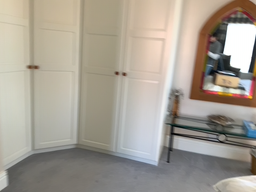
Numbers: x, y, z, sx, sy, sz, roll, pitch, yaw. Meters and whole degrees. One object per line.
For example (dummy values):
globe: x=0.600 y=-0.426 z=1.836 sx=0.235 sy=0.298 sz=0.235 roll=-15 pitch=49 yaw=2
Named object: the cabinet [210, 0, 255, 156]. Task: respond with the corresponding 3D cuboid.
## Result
cabinet: x=1.830 y=-0.600 z=3.240 sx=0.600 sy=2.500 sz=1.520 roll=7 pitch=13 yaw=15
